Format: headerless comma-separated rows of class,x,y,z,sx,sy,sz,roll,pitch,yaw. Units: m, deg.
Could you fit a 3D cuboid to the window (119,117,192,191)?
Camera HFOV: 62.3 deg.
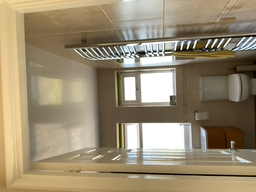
window,0.470,1.010,3.740,0.320,1.210,1.240,1,-92,-81

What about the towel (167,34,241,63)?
towel,0.600,-0.380,1.760,0.300,0.530,0.140,15,-106,-81

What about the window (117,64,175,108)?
window,0.310,-0.160,3.680,0.150,0.960,0.720,-1,-91,-81
